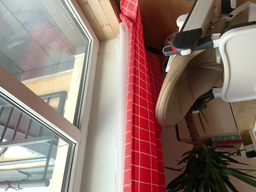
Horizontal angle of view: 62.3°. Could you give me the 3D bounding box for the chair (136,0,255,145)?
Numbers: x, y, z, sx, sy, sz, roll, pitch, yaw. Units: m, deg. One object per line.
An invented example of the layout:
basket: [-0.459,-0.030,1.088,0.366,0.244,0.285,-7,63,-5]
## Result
chair: [0.440,-0.310,1.200,0.600,0.920,0.630,-13,144,19]
